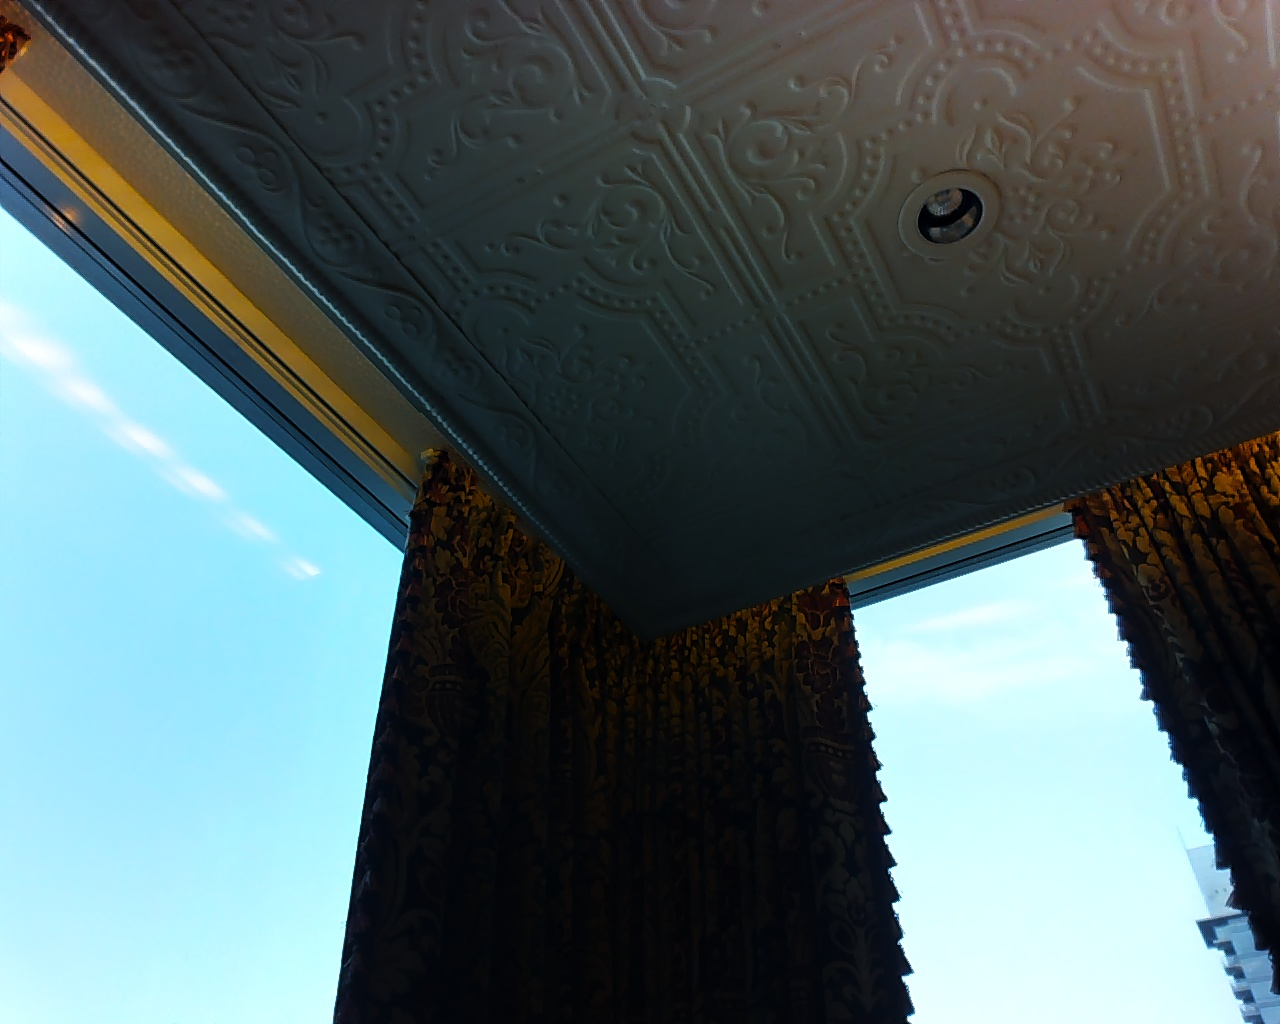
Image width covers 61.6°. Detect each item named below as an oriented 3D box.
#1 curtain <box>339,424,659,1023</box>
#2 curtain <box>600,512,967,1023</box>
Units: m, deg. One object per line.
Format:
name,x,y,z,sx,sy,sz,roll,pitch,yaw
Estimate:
curtain,-0.150,0.730,1.360,0.070,1.830,0.610,-21,-45,21
curtain,0.190,0.790,1.440,0.510,1.800,0.100,-21,-45,21
